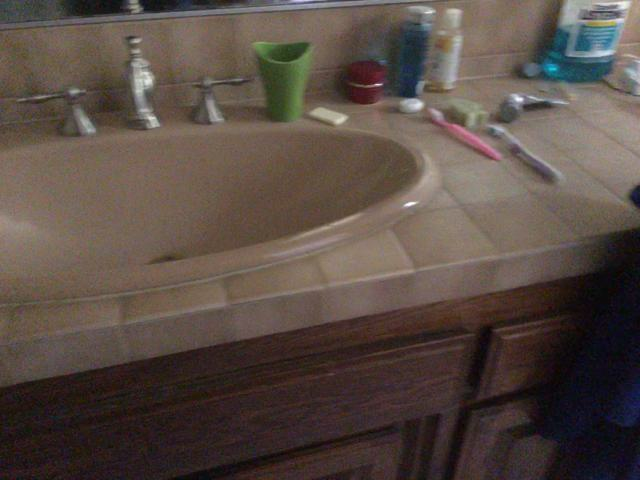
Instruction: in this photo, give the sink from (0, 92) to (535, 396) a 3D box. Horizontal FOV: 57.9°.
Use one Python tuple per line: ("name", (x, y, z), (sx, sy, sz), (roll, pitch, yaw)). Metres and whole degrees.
("sink", (-0.200, -0.020, 0.820), (0.890, 0.180, 0.340), (-10, 34, -13))
